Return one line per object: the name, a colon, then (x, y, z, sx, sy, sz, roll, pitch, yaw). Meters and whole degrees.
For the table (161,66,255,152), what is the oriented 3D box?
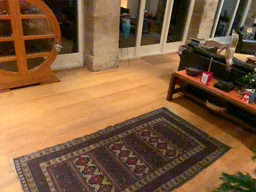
table: (1.160, 0.080, 2.890, 0.520, 0.470, 1.360, -16, 36, -35)
